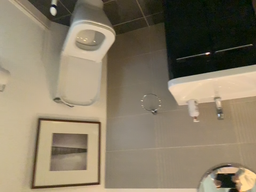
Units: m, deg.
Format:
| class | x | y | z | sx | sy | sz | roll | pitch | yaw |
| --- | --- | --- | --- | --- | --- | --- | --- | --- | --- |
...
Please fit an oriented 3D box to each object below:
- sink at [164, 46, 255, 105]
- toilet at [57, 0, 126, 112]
| class | x | y | z | sx | sy | sz | roll | pitch | yaw |
| --- | --- | --- | --- | --- | --- | --- | --- | --- | --- |
| sink | 0.610 | -0.110 | 1.470 | 0.620 | 0.160 | 0.460 | -8 | 159 | 19 |
| toilet | -0.330 | -0.370 | 1.810 | 0.390 | 0.850 | 0.630 | 7 | 159 | -23 |
